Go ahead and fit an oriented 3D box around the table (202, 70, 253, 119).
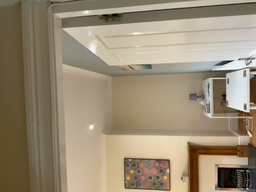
[{"bbox_3d":[1.900,-0.010,4.170,0.780,0.690,0.860,4,-96,-81],"label":"table"}]
